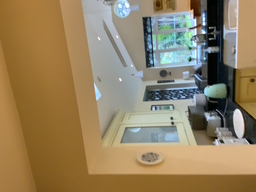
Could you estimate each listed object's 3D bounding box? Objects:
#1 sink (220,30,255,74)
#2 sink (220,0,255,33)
[{"bbox_3d":[1.230,-0.510,2.390,0.520,0.220,0.430,-65,-29,-72],"label":"sink"},{"bbox_3d":[1.190,-0.910,2.280,0.530,0.220,0.420,-65,-29,-72],"label":"sink"}]
